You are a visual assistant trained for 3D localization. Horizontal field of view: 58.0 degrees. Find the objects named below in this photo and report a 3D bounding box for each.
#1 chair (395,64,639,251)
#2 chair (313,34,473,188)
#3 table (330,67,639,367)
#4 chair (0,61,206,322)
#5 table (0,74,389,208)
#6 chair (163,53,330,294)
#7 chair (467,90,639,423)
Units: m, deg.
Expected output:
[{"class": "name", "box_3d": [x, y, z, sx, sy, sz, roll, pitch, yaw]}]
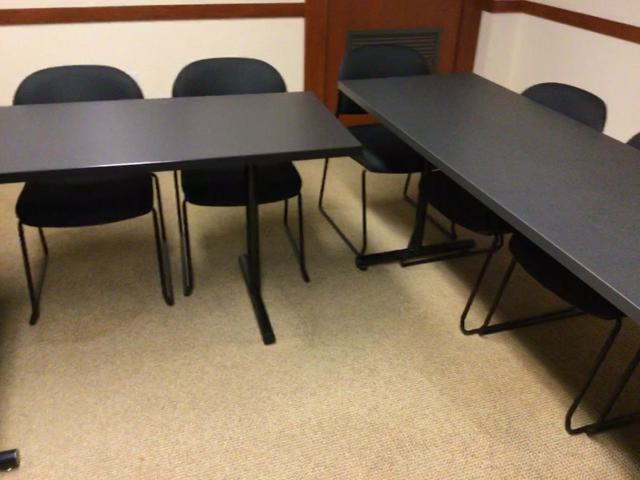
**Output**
[{"class": "chair", "box_3d": [0.660, -0.330, 2.080, 0.560, 0.450, 0.570, -8, 30, -16]}, {"class": "chair", "box_3d": [0.320, -0.580, 2.480, 0.530, 0.460, 0.570, 11, 30, 17]}, {"class": "table", "box_3d": [0.890, 0.190, 0.890, 0.640, 0.120, 3.580, -8, 30, -16]}, {"class": "chair", "box_3d": [-0.780, -0.210, 2.150, 0.570, 0.750, 0.560, -8, 30, -16]}, {"class": "table", "box_3d": [-0.750, -0.310, 1.730, 1.770, 0.120, 0.680, -8, 30, -16]}, {"class": "chair", "box_3d": [-0.300, -0.290, 2.320, 0.540, 0.770, 0.550, -7, 30, -13]}, {"class": "chair", "box_3d": [0.870, 0.020, 1.750, 0.540, 0.790, 0.520, -8, 30, -16]}]
